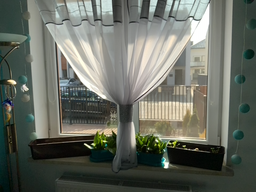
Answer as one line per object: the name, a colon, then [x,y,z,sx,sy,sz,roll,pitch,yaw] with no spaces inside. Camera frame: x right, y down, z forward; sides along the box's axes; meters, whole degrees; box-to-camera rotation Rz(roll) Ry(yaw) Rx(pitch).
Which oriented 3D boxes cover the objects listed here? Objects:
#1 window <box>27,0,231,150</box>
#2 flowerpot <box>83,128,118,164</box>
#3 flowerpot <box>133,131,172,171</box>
window: [-0.020,-0.400,1.680,1.480,1.550,0.250,1,7,8]
flowerpot: [-0.210,0.390,1.690,0.220,0.200,0.250,0,7,6]
flowerpot: [0.180,0.400,1.590,0.270,0.210,0.230,0,7,6]
